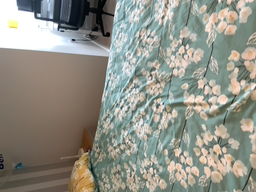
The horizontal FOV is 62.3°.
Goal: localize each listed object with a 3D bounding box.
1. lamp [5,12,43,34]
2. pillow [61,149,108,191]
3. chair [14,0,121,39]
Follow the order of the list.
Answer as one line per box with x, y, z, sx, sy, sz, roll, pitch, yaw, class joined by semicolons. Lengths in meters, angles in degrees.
-1.570;-1.100;3.220;0.190;0.500;0.210;50;133;49;lamp
-0.330;0.780;1.620;0.660;0.190;0.390;42;126;53;pillow
-0.780;-1.150;2.670;0.740;1.150;0.630;37;122;55;chair
